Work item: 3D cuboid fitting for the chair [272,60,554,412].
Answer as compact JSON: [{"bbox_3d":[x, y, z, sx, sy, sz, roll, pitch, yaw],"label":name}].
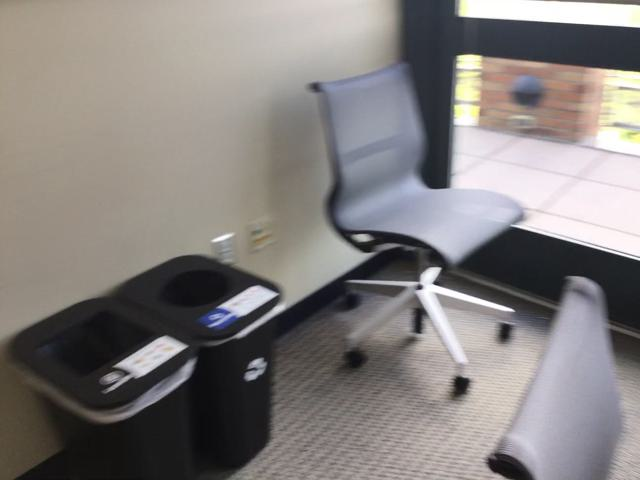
[{"bbox_3d":[0.310,-0.070,2.000,0.690,0.960,0.530,17,32,38],"label":"chair"}]
